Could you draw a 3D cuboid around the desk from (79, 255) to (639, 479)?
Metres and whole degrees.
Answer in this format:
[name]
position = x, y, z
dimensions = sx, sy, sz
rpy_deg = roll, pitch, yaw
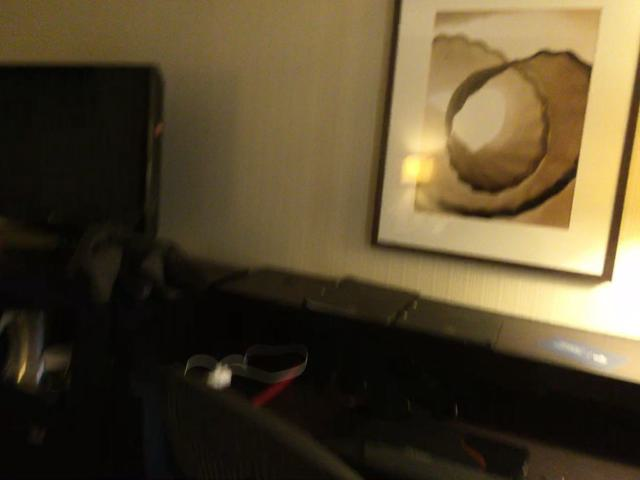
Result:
[desk]
position = 0.260, 0.680, 1.380
dimensions = 1.500, 0.980, 0.710
rpy_deg = 9, 10, 23

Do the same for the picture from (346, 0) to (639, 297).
[picture]
position = 0.460, -0.330, 1.500
dimensions = 0.730, 0.830, 0.080
rpy_deg = 9, 10, 23
